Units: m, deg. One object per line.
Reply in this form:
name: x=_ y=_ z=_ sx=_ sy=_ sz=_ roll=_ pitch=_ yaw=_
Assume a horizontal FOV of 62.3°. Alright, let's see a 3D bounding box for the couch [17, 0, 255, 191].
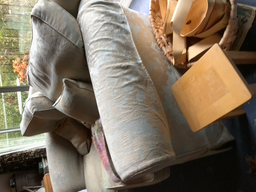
couch: x=-0.340 y=0.190 z=1.750 sx=1.960 sy=0.890 sz=1.200 roll=-49 pitch=55 yaw=51
